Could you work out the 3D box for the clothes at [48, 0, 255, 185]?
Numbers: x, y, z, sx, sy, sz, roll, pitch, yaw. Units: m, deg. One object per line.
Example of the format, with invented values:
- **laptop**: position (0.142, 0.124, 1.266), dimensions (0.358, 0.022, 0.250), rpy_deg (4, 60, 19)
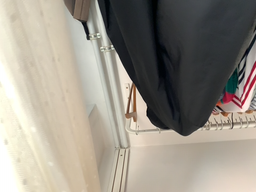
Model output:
- **clothes**: position (0.270, -0.270, 0.730), dimensions (0.820, 0.930, 0.580), rpy_deg (-3, -156, 11)
